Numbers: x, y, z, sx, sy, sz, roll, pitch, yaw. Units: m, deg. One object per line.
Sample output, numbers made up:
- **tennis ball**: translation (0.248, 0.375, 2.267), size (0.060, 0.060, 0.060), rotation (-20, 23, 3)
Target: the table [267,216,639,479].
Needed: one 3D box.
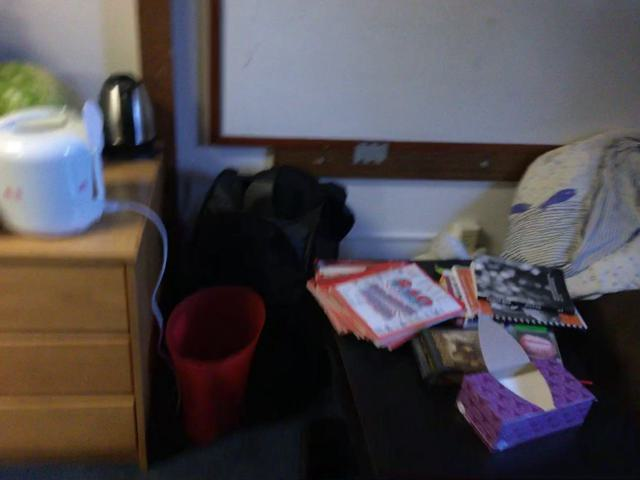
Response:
- **table**: translation (0.310, 0.540, 1.150), size (0.610, 0.510, 1.550), rotation (1, 29, -14)

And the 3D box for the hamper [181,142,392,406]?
- **hamper**: translation (-0.150, 0.090, 1.730), size (0.500, 0.600, 0.480), rotation (1, 29, -14)

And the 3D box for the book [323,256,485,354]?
- **book**: translation (0.190, 0.140, 1.360), size (0.280, 0.060, 0.260), rotation (-5, 31, -24)

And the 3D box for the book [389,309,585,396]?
- **book**: translation (0.360, 0.240, 1.280), size (0.360, 0.070, 0.200), rotation (1, 29, -14)

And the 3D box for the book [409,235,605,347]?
- **book**: translation (0.460, 0.120, 1.490), size (0.350, 0.100, 0.350), rotation (1, 29, -14)

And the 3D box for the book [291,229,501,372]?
- **book**: translation (0.160, 0.130, 1.440), size (0.390, 0.110, 0.440), rotation (1, 29, -14)
